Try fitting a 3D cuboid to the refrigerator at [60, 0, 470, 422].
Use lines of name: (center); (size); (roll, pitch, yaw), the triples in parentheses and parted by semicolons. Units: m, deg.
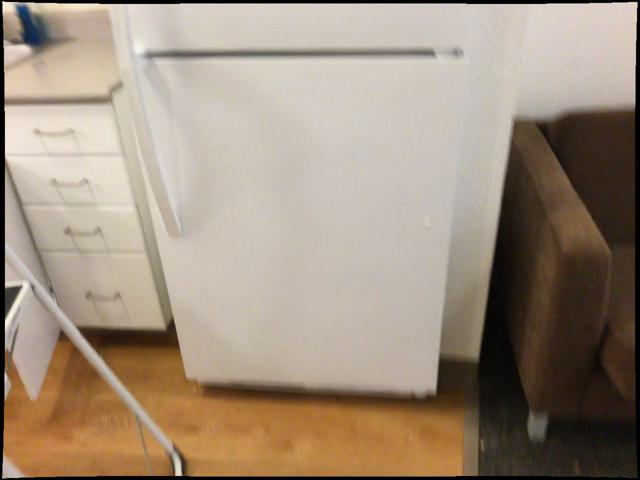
refrigerator: (-0.080, -0.170, 1.360); (0.778, 1.553, 0.170); (0, 34, 8)
